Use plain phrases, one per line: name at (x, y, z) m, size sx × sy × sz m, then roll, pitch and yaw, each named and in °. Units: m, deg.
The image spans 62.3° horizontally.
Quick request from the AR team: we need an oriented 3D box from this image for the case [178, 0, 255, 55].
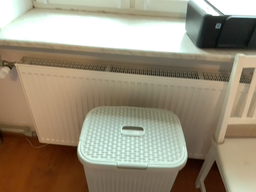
case at (0.520, -0.370, 1.060) m, size 0.480 × 0.170 × 0.340 m, roll 6°, pitch 38°, yaw 3°
